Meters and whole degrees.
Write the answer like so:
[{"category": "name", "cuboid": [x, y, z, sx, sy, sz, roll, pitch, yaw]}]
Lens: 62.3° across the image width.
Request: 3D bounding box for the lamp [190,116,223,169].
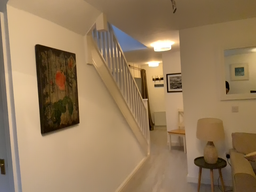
[{"category": "lamp", "cuboid": [1.060, 0.590, 2.840, 0.360, 0.570, 0.500, -3, 2, 23]}]
